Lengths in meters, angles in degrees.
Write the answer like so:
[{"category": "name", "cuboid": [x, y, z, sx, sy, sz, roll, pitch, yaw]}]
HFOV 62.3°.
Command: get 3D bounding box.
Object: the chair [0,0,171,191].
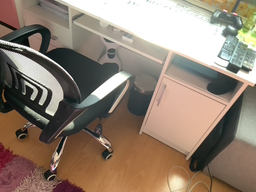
[{"category": "chair", "cuboid": [-0.300, -0.040, 1.070, 0.600, 0.810, 0.620, 30, 49, 15]}]
